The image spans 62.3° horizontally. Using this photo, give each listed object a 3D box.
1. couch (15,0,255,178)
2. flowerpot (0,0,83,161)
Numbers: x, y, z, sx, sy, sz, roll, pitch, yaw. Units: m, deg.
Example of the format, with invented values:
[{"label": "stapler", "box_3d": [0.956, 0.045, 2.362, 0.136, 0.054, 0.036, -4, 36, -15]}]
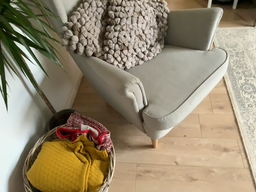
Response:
[{"label": "couch", "box_3d": [0.030, -0.320, 1.290, 0.800, 1.000, 1.000, -38, 56, -24]}, {"label": "flowerpot", "box_3d": [-0.520, -0.080, 1.020, 0.260, 1.100, 0.300, 4, 50, 10]}]
